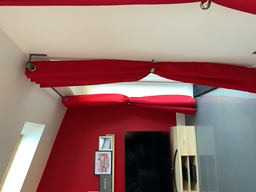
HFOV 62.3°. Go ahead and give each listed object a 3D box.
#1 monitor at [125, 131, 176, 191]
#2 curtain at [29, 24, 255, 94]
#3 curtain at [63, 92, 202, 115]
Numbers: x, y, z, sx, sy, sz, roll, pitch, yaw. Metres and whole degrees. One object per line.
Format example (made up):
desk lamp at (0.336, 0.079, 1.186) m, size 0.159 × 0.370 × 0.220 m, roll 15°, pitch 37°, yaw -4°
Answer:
monitor at (0.400, 1.360, 3.750) m, size 0.080 × 0.880 × 1.440 m, roll 122°, pitch 148°, yaw -77°
curtain at (0.280, -0.320, 2.130) m, size 0.450 × 2.250 × 0.510 m, roll 125°, pitch 145°, yaw -78°
curtain at (0.080, 0.160, 3.880) m, size 0.680 × 2.320 × 0.340 m, roll 129°, pitch 141°, yaw -79°
